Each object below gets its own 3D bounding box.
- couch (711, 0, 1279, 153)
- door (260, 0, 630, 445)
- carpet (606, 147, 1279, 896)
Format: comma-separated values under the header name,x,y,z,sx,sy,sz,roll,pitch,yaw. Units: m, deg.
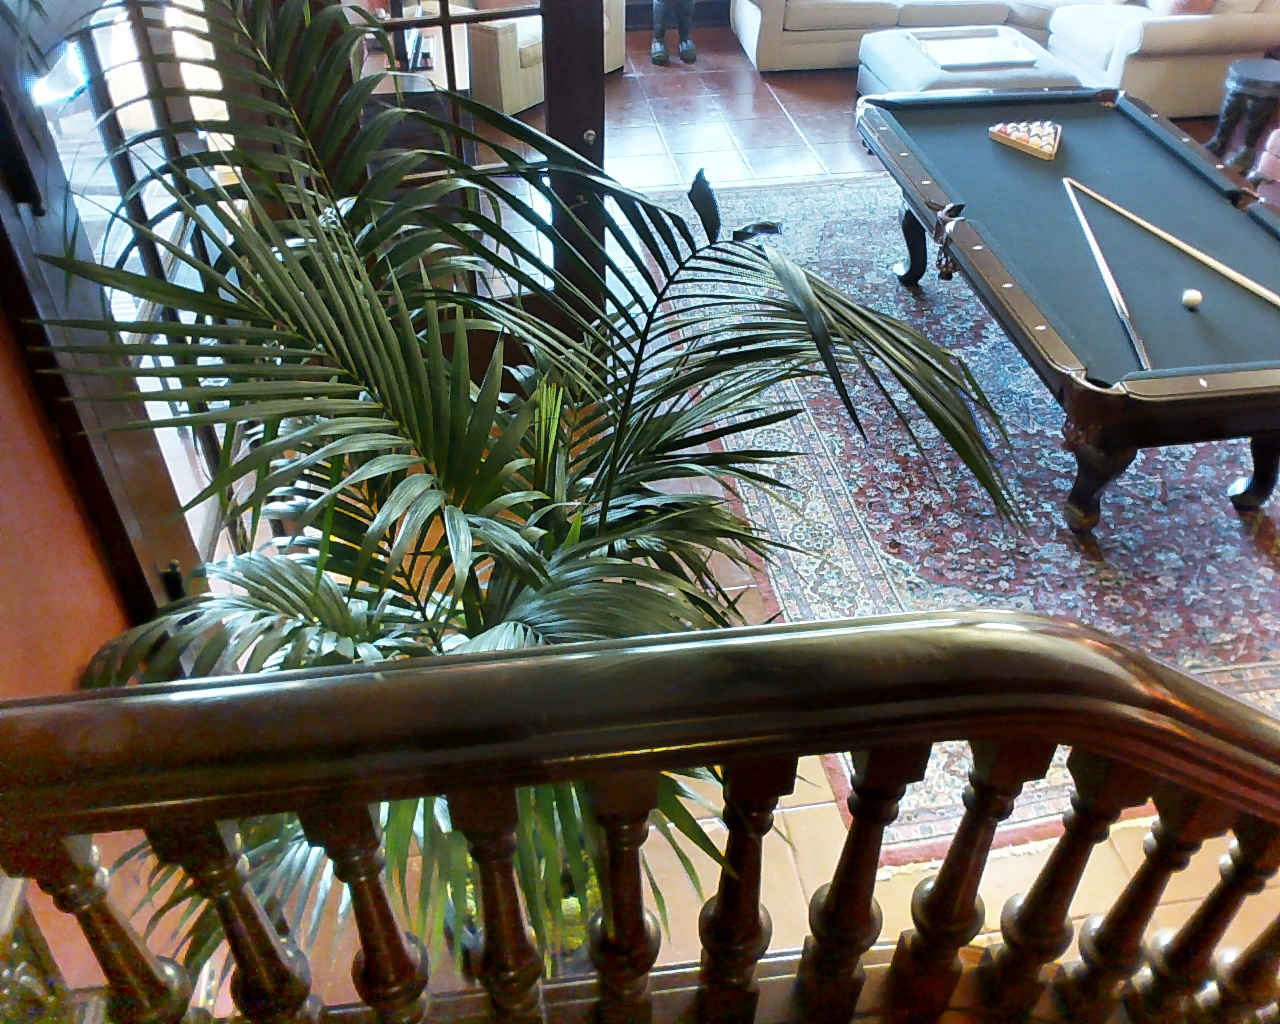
name,x,y,z,sx,sy,sz,roll,pitch,yaw
couch,2.330,-3.510,7.400,3.210,0.930,2.470,-5,42,-7
door,-0.620,-1.380,3.720,1.160,2.490,0.210,-11,43,-13
carpet,1.800,-0.590,4.690,3.300,0.050,4.370,-6,42,-8
